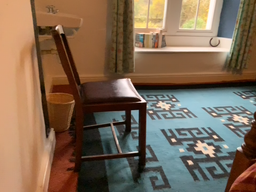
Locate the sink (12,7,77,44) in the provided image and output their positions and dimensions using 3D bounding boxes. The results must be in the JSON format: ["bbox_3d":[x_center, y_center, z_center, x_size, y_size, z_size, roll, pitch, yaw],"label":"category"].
[{"bbox_3d":[-0.640,-0.600,1.760,0.400,0.240,0.570,-3,23,-12],"label":"sink"}]

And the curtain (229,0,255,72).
[{"bbox_3d":[1.620,-1.100,2.700,0.260,1.570,0.170,-4,23,-14],"label":"curtain"}]

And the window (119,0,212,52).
[{"bbox_3d":[0.540,-1.220,2.970,1.320,1.200,0.070,-2,23,-11],"label":"window"}]
